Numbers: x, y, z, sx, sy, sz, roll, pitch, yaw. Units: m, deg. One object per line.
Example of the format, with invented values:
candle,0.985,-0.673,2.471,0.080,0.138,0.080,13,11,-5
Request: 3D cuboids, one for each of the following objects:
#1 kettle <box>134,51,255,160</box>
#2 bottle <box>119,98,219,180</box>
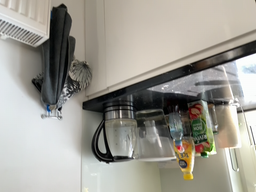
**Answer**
kettle,0.340,0.100,1.220,0.550,0.480,0.250,-18,158,38
bottle,0.170,0.220,1.000,0.380,0.310,0.210,-19,157,41
